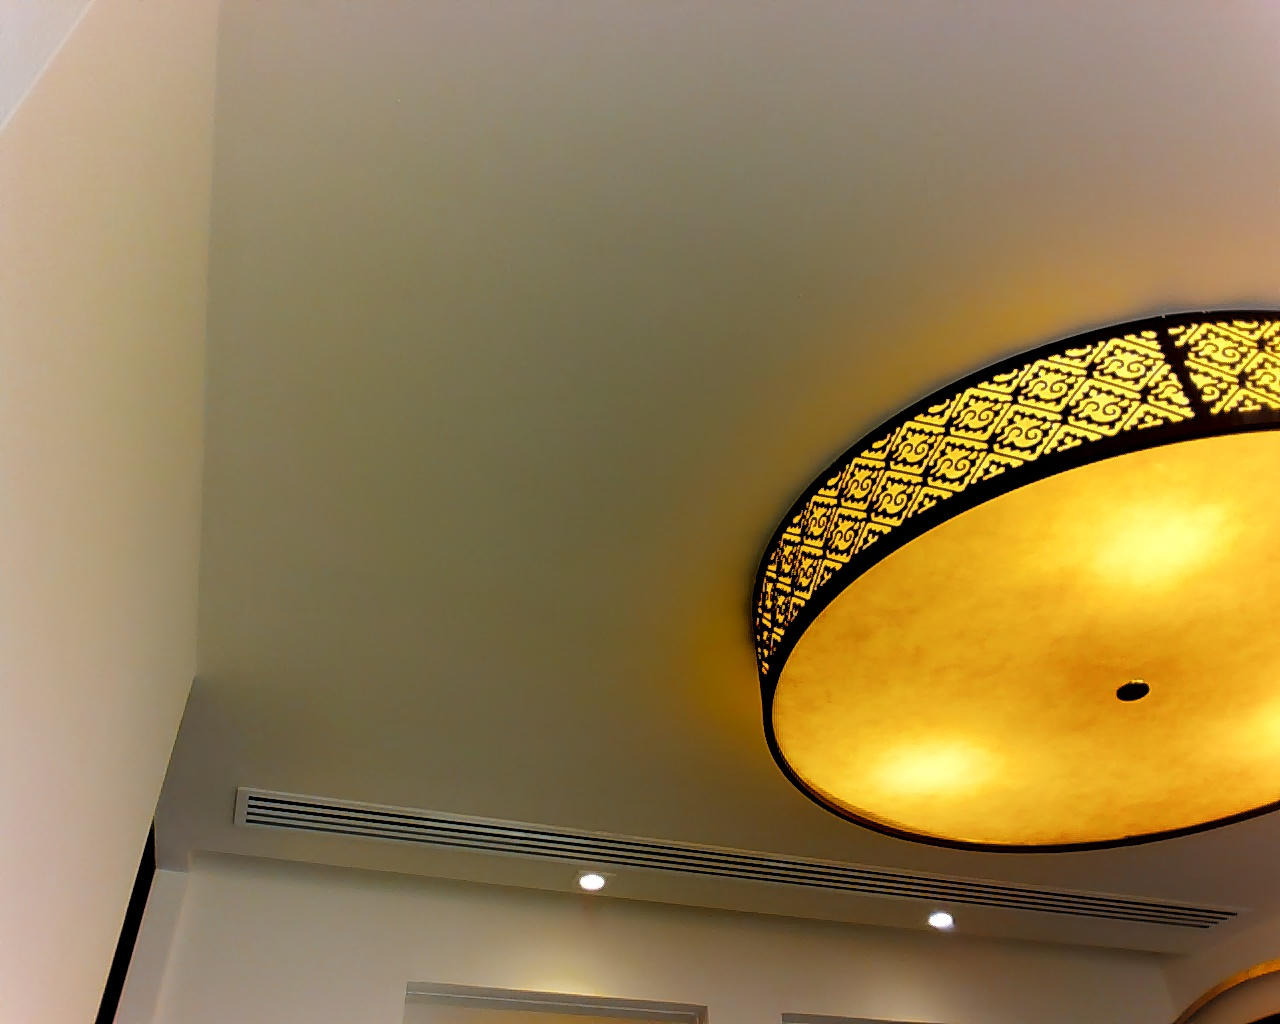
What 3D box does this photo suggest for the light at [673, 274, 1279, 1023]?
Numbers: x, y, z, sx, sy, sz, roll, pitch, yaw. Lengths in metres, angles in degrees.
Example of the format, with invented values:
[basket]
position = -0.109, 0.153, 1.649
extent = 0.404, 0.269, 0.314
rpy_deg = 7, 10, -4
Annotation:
[light]
position = 0.780, 0.230, 1.810
extent = 1.390, 1.250, 0.230
rpy_deg = 11, -43, -14
